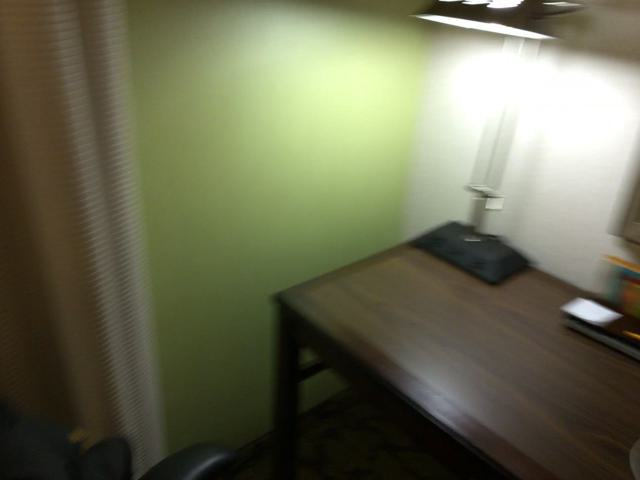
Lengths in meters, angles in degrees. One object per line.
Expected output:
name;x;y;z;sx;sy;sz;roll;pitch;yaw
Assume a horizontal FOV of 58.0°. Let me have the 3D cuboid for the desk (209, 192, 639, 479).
desk;0.460;0.550;1.290;0.650;0.820;1.420;-23;35;-39
